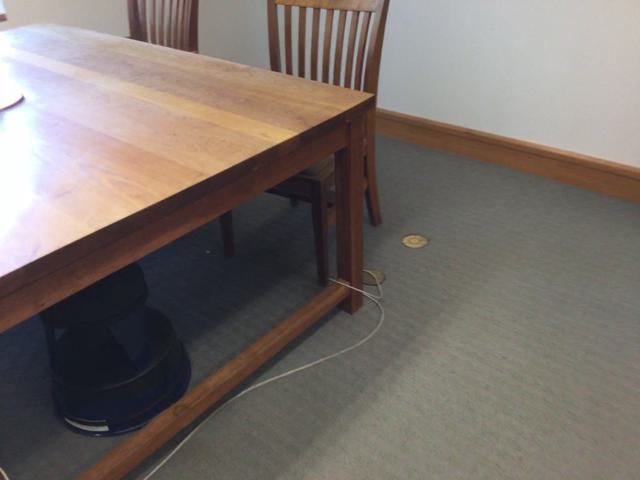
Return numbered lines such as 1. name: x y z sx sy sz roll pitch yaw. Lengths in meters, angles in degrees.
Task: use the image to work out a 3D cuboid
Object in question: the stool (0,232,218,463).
1. stool: -0.600 0.280 1.660 0.340 0.420 0.410 15 34 39
